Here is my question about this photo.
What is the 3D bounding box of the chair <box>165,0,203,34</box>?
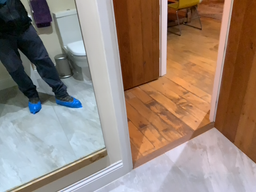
[{"bbox_3d":[1.070,-1.690,4.110,0.490,0.760,0.480,-24,38,-25],"label":"chair"}]
